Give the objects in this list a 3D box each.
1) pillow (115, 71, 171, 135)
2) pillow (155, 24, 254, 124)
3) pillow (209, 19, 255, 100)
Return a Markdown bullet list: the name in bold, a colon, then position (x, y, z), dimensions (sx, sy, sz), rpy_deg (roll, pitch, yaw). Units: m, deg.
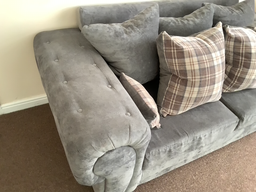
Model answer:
- **pillow**: position (0.070, 0.020, 1.100), dimensions (0.120, 0.250, 0.290), rpy_deg (-18, 21, -25)
- **pillow**: position (0.400, -0.140, 1.170), dimensions (0.430, 0.410, 0.230), rpy_deg (-18, 34, -25)
- **pillow**: position (0.780, -0.260, 1.390), dimensions (0.460, 0.420, 0.210), rpy_deg (-17, 23, -24)
